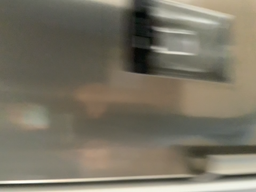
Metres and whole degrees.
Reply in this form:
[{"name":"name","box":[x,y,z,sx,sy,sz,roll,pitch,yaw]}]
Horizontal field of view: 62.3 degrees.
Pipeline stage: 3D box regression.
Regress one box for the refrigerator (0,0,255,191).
[{"name":"refrigerator","box":[0.210,-0.070,0.840,0.740,1.900,0.580,161,112,-70]}]
